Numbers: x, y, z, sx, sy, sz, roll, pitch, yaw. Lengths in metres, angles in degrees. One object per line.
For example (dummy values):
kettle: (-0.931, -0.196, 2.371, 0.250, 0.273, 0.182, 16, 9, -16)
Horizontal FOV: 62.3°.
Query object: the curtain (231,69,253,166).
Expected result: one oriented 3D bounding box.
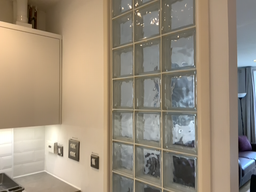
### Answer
curtain: (2.870, 0.510, 5.340, 0.270, 2.320, 0.410, 1, -2, -44)
